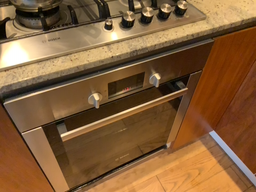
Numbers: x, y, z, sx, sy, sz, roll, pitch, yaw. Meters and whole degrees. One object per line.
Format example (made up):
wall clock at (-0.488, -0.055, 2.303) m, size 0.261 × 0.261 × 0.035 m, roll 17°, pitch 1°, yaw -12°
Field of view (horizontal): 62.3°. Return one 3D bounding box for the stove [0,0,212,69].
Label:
stove at (-0.150, -0.350, 0.690) m, size 0.590 × 0.040 × 0.570 m, roll -19°, pitch 52°, yaw -20°
